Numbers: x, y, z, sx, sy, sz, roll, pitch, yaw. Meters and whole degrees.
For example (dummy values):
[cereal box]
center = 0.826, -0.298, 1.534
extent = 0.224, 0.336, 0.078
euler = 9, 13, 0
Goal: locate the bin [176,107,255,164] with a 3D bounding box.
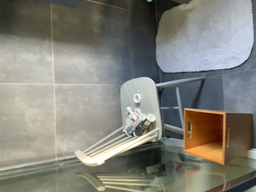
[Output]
[bin]
center = 0.500, 0.200, 1.220
extent = 0.320, 0.280, 0.260
euler = -5, 87, 56

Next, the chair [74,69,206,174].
[chair]
center = 0.090, 0.130, 1.410
extent = 0.400, 0.760, 0.510
euler = -8, 84, 56
